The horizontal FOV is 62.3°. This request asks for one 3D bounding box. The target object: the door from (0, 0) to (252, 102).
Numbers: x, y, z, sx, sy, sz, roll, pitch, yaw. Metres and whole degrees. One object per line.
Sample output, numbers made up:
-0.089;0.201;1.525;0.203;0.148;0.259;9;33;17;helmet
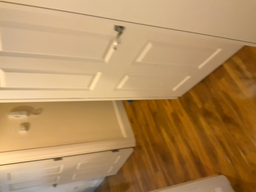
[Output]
-0.170;-0.180;1.360;0.850;1.960;0.020;-50;48;51;door
